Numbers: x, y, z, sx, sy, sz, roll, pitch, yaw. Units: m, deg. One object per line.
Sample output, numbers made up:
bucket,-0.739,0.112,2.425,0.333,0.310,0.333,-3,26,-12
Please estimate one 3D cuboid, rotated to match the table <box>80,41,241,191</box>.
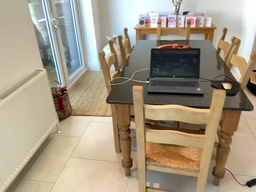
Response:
table,0.290,0.050,2.140,0.930,0.780,1.660,2,29,8
